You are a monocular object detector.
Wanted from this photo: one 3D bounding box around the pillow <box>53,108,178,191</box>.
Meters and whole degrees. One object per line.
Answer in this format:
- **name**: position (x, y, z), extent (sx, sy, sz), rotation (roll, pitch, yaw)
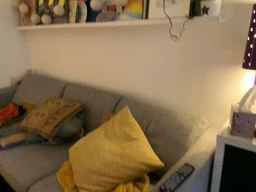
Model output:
- **pillow**: position (-0.040, 0.340, 1.320), extent (0.450, 0.260, 0.630), rotation (12, 23, 35)
